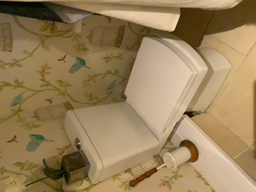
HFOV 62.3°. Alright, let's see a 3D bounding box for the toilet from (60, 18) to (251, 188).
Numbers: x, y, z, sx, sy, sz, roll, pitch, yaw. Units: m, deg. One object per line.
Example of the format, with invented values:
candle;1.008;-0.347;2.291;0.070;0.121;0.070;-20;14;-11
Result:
toilet;0.120;-0.020;1.140;0.410;0.800;0.620;46;134;36
